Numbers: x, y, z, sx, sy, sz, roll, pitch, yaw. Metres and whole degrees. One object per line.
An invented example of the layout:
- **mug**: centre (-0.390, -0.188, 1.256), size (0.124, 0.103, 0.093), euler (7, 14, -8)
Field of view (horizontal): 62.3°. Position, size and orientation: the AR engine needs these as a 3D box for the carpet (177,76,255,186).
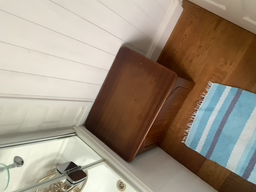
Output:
- **carpet**: centre (0.730, 0.250, 1.130), size (0.830, 0.010, 0.460), euler (25, 100, 27)
